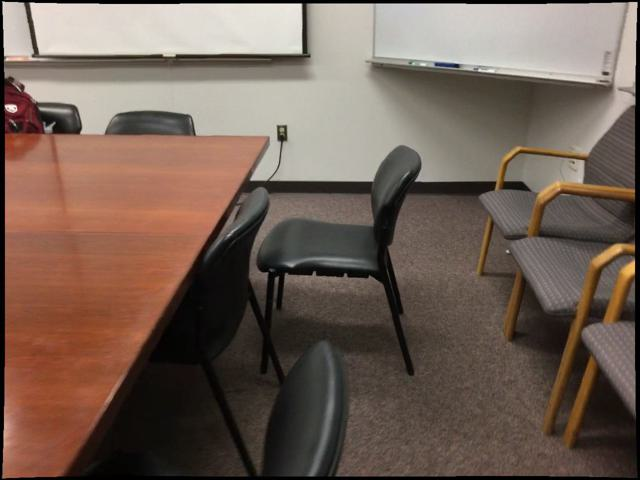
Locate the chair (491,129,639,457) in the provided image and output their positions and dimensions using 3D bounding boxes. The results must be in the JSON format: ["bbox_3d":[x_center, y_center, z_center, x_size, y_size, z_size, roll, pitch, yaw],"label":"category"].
[{"bbox_3d":[1.137,0.130,2.020,0.758,0.882,0.790,1,22,0],"label":"chair"}]

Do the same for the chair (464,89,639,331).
[{"bbox_3d":[1.157,-0.170,2.600,0.758,0.892,0.740,1,22,0],"label":"chair"}]

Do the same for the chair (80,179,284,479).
[{"bbox_3d":[-0.359,0.261,1.720,0.419,0.782,0.400,3,22,7],"label":"chair"}]
